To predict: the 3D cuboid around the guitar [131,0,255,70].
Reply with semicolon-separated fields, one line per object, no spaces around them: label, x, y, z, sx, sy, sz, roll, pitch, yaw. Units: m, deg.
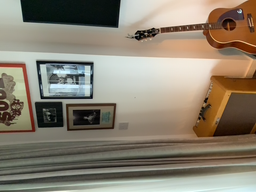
guitar;0.610;-0.530;1.660;0.300;1.120;0.460;105;171;-72
